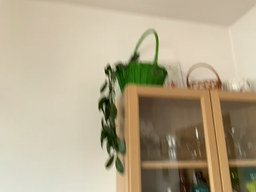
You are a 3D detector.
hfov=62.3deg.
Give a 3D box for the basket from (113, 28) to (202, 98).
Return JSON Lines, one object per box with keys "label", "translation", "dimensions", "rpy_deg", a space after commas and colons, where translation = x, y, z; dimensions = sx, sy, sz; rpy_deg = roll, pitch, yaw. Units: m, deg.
{"label": "basket", "translation": [0.140, -0.160, 1.190], "dimensions": [0.390, 0.240, 0.320], "rpy_deg": [4, -17, -14]}
